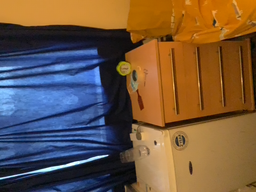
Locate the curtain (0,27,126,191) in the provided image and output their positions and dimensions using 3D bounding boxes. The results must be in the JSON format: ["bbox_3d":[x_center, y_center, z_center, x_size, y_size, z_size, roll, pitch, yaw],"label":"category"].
[{"bbox_3d":[-0.550,0.350,1.440,0.070,1.040,1.590,-177,81,-68],"label":"curtain"}]
